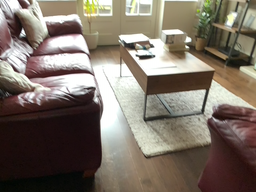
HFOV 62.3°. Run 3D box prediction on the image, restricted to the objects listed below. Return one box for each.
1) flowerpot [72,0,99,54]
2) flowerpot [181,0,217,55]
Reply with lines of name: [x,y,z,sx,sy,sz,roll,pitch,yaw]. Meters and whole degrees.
flowerpot: [-0.700,-1.180,3.510,0.360,0.860,0.330,-5,31,-12]
flowerpot: [1.210,-1.190,3.660,0.440,0.840,0.260,-23,38,-37]
